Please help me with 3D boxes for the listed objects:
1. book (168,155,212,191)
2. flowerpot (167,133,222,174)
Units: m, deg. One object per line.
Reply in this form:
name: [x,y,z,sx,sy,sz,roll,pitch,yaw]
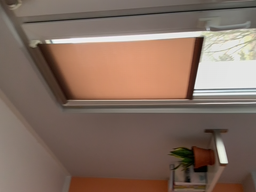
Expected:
book: [0.440,0.620,1.590,0.420,0.260,0.180,80,-168,-49]
flowerpot: [0.380,0.350,1.280,0.230,0.280,0.150,80,-167,-50]
